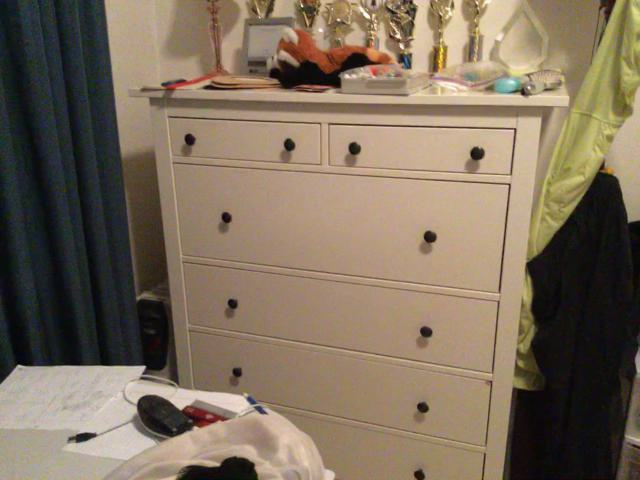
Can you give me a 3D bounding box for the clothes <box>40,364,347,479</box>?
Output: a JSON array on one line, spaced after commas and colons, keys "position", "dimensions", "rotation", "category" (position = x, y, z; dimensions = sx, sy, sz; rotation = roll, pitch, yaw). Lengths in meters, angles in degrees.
[{"position": [-0.180, 0.360, 0.790], "dimensions": [0.300, 0.160, 0.430], "rotation": [1, 18, 22], "category": "clothes"}]
